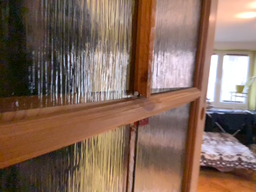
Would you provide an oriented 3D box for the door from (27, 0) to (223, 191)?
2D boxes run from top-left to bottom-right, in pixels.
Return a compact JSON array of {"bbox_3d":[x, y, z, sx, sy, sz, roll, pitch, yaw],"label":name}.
[{"bbox_3d":[0.050,0.510,0.580,0.110,1.900,0.610,7,8,36],"label":"door"}]

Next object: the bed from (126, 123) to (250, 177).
[{"bbox_3d":[1.060,0.990,4.230,2.040,0.460,1.250,4,6,7],"label":"bed"}]
